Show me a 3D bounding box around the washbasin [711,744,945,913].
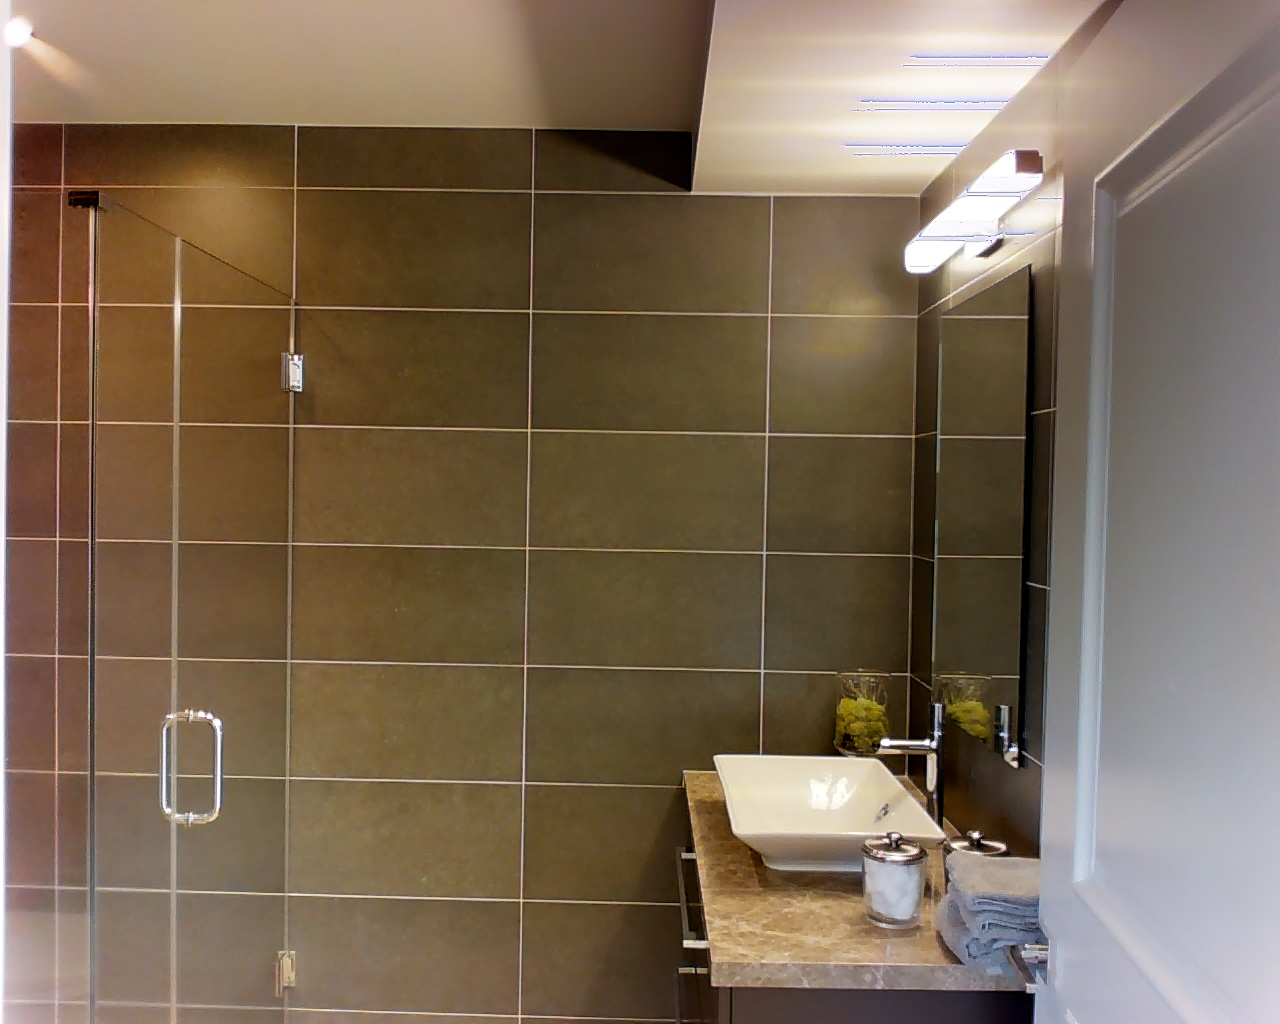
[{"bbox_3d":[0.350,0.620,2.180,0.380,0.150,0.580,1,1,1],"label":"washbasin"}]
